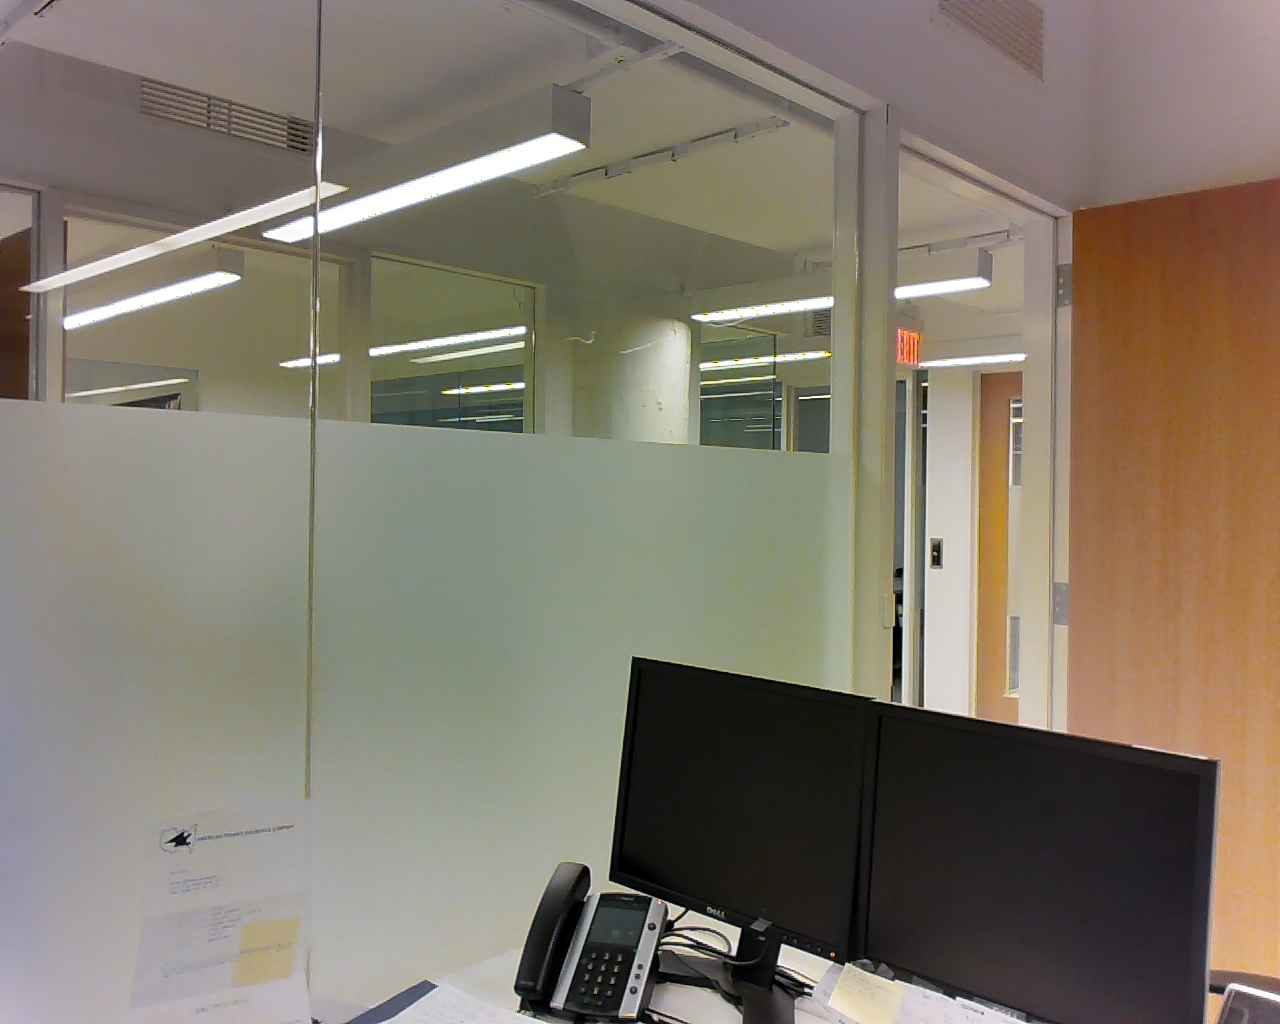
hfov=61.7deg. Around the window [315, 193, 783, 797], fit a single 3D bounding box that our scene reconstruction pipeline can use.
[{"bbox_3d":[-0.830,-0.100,6.590,3.920,2.901,0.280,1,1,43],"label":"window"}]
